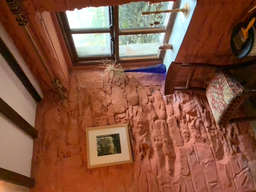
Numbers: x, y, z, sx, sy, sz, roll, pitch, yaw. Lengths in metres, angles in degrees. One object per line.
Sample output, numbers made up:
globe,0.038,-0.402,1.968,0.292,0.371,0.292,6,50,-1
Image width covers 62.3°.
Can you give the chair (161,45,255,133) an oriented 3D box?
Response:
chair,0.840,-0.070,2.080,0.550,0.840,0.580,92,171,-49
